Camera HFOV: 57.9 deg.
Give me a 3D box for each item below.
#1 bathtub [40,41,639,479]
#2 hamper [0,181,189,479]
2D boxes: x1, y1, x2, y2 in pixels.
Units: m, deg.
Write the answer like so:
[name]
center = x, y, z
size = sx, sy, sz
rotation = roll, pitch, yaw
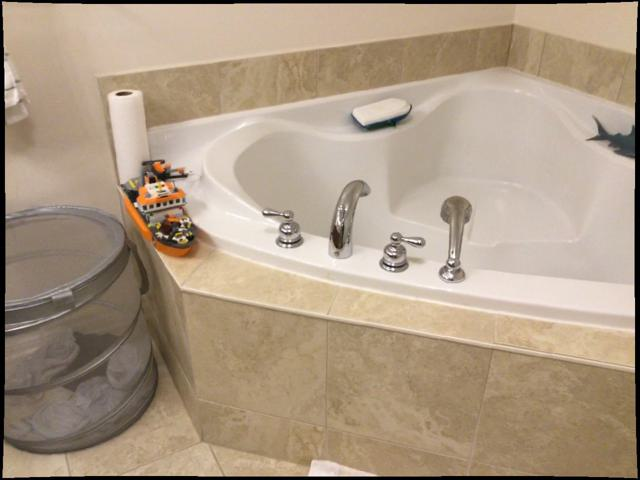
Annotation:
[bathtub]
center = 0.529, 0.000, 1.730
size = 1.938, 0.690, 1.360
rotation = 9, 33, 11
[hamper]
center = -0.689, 0.210, 1.550
size = 0.490, 0.490, 0.480
rotation = -16, 37, -25
